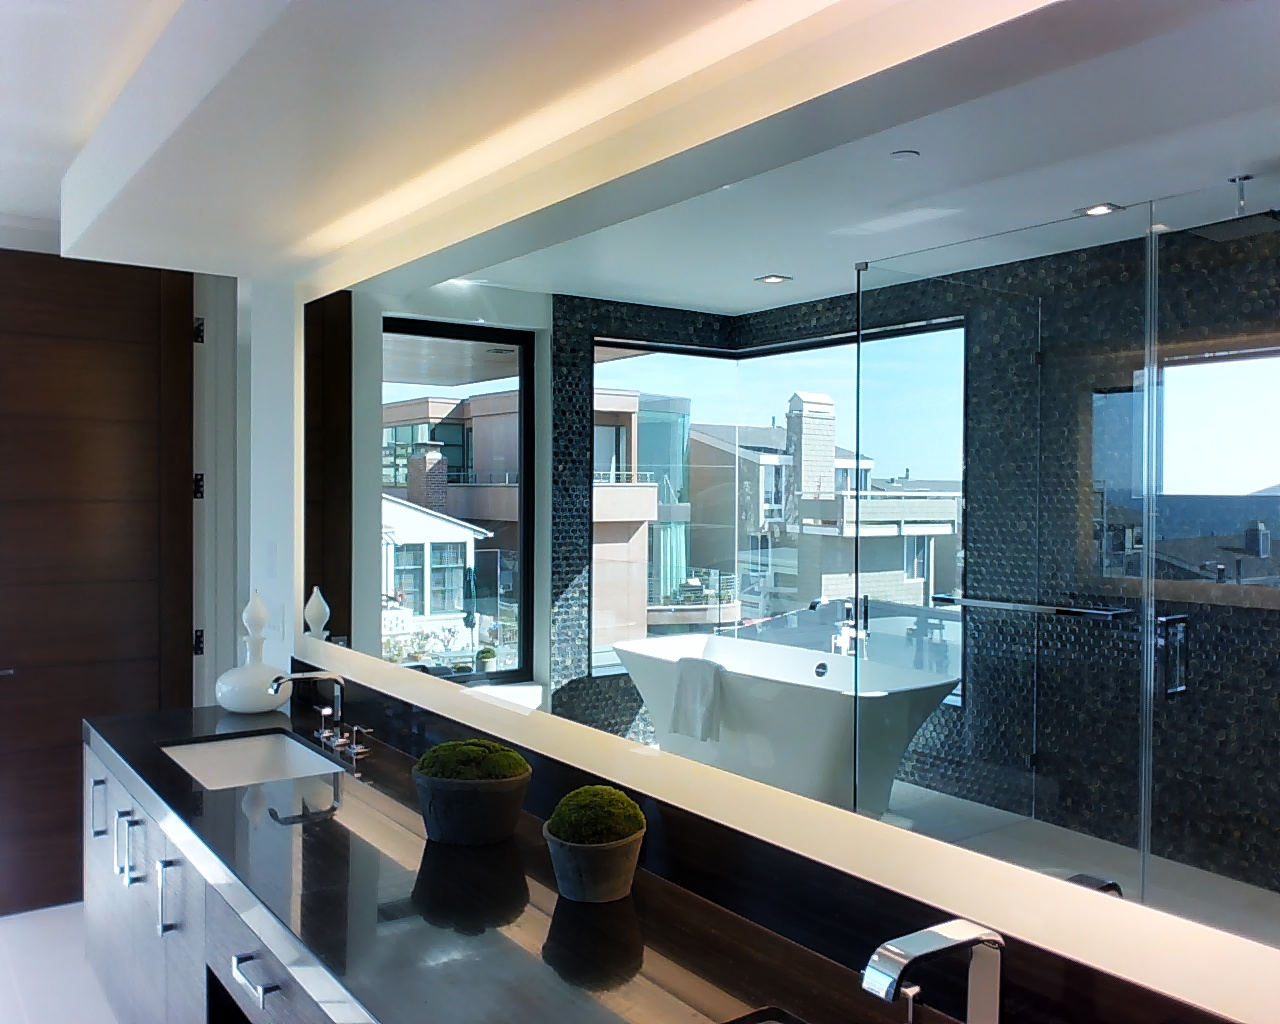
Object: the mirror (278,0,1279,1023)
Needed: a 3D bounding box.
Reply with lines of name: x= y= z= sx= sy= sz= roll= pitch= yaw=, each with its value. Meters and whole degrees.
mirror: x=-0.130 y=-0.110 z=1.930 sx=0.110 sy=1.080 sz=2.880 roll=0 pitch=1 yaw=-36
